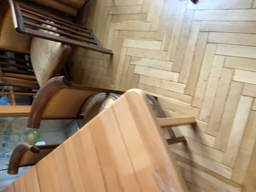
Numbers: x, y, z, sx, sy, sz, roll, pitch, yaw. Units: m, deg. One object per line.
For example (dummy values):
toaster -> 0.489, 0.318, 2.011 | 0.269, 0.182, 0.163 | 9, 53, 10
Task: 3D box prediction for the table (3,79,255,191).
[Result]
table -> -0.100, 0.690, 1.270 | 1.580, 0.740, 0.750 | -39, 62, 35
